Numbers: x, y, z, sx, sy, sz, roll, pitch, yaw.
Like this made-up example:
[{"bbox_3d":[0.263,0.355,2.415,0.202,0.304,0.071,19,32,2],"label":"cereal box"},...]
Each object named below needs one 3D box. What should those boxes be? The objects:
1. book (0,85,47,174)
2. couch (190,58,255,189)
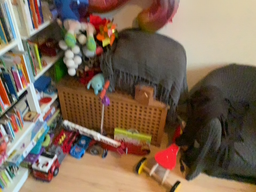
[{"bbox_3d":[-0.810,0.230,1.390,0.170,0.280,0.650,11,38,9],"label":"book"},{"bbox_3d":[0.980,0.210,1.750,0.760,0.670,0.760,10,38,9],"label":"couch"}]
